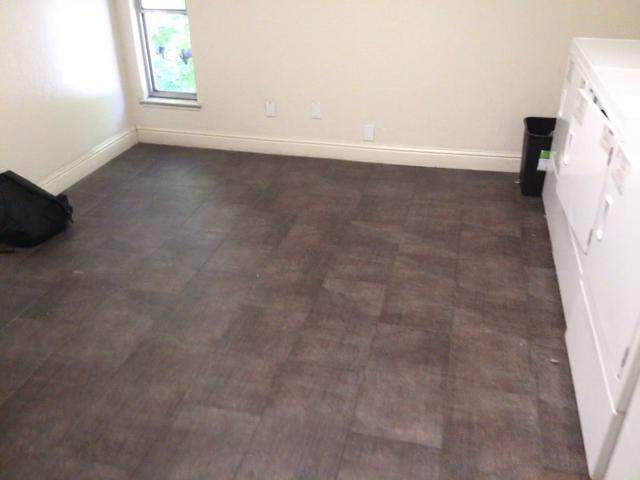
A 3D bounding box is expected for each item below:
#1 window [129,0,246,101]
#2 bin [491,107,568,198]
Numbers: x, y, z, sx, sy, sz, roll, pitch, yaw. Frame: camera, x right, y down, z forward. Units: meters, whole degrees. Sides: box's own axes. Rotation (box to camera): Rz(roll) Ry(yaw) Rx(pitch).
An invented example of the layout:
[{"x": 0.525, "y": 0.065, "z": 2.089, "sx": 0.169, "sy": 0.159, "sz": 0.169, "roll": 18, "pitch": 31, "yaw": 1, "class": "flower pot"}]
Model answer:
[{"x": -0.880, "y": -1.490, "z": 3.870, "sx": 0.670, "sy": 0.990, "sz": 0.320, "roll": 8, "pitch": 27, "yaw": 13, "class": "window"}, {"x": 1.230, "y": -0.530, "z": 3.440, "sx": 0.340, "sy": 0.400, "sz": 0.400, "roll": 9, "pitch": 27, "yaw": 13, "class": "bin"}]
